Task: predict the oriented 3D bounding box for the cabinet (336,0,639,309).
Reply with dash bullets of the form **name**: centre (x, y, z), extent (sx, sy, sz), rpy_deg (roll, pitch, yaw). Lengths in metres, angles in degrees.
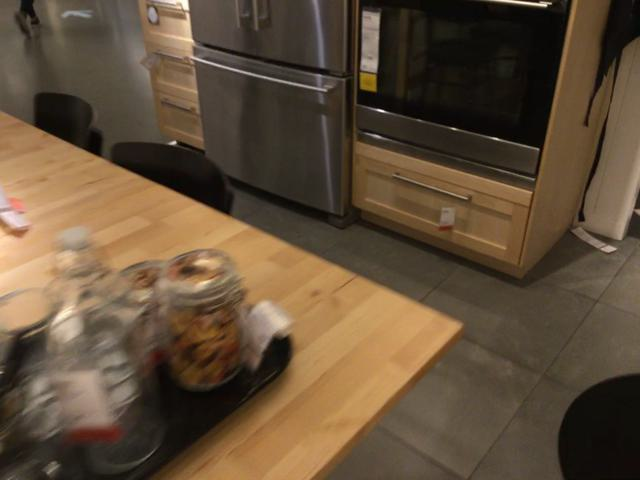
- **cabinet**: centre (0.600, -0.850, 1.980), extent (0.860, 1.920, 0.630), rpy_deg (24, 39, 34)
